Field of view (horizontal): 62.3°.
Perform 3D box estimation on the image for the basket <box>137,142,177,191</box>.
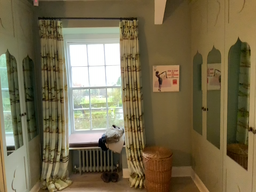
[{"bbox_3d":[0.380,0.980,2.920,0.470,0.560,0.420,-2,6,0],"label":"basket"}]
